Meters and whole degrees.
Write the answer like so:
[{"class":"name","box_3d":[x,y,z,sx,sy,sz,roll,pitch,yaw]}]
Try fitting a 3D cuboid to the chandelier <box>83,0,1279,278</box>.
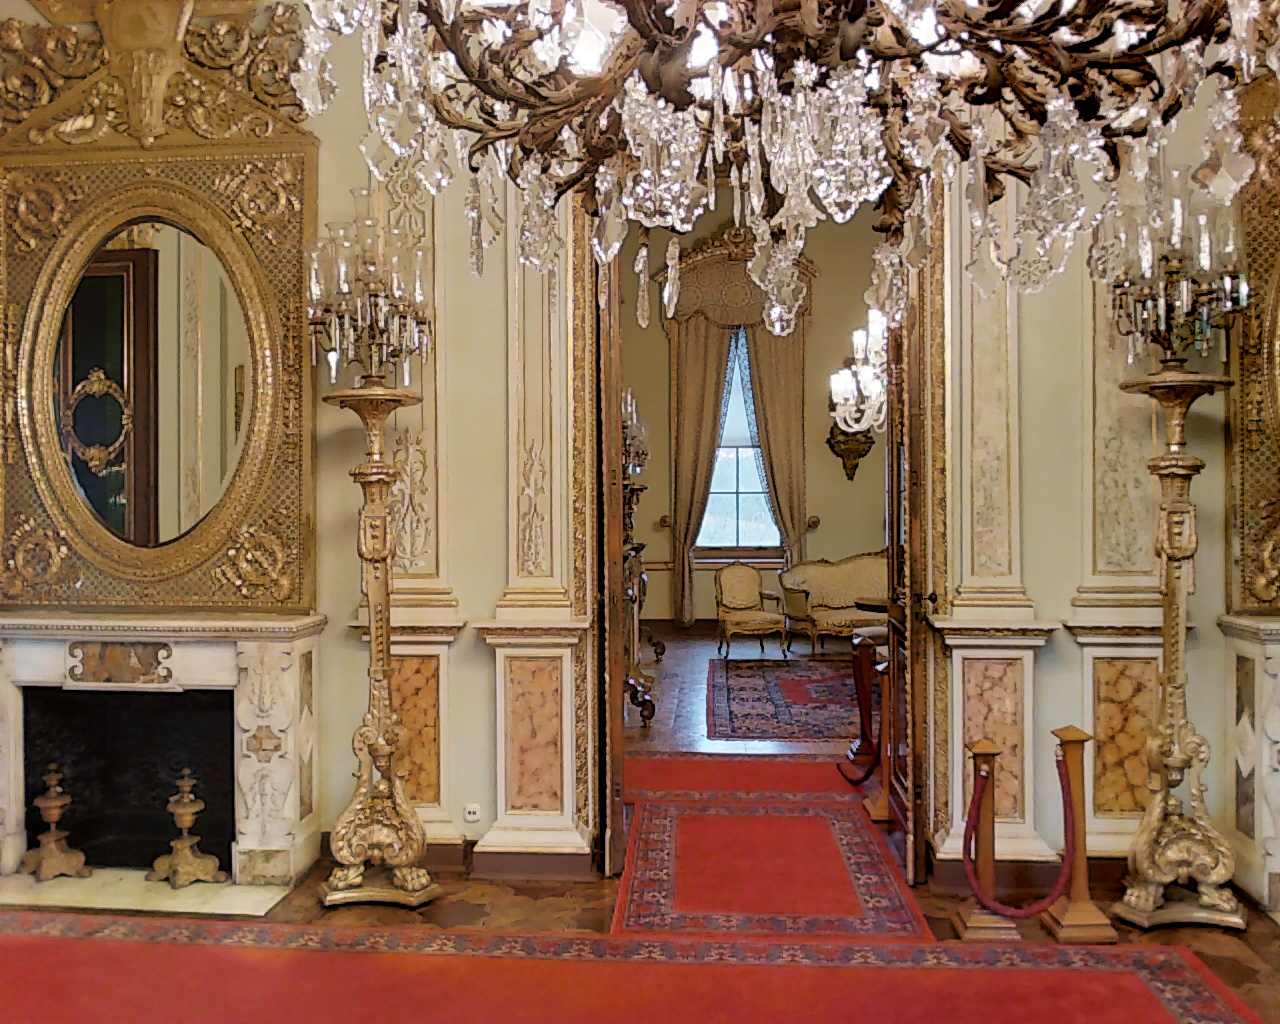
[{"class":"chandelier","box_3d":[0.370,-0.930,1.960,1.909,0.630,1.610,0,1,6]}]
